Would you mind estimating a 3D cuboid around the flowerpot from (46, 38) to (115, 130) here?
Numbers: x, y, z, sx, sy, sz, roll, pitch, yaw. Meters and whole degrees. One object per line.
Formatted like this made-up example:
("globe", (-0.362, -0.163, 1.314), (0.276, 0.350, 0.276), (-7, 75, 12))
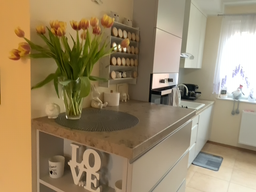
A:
("flowerpot", (-0.230, -0.070, 1.050), (0.190, 0.390, 0.270), (9, 11, 30))
